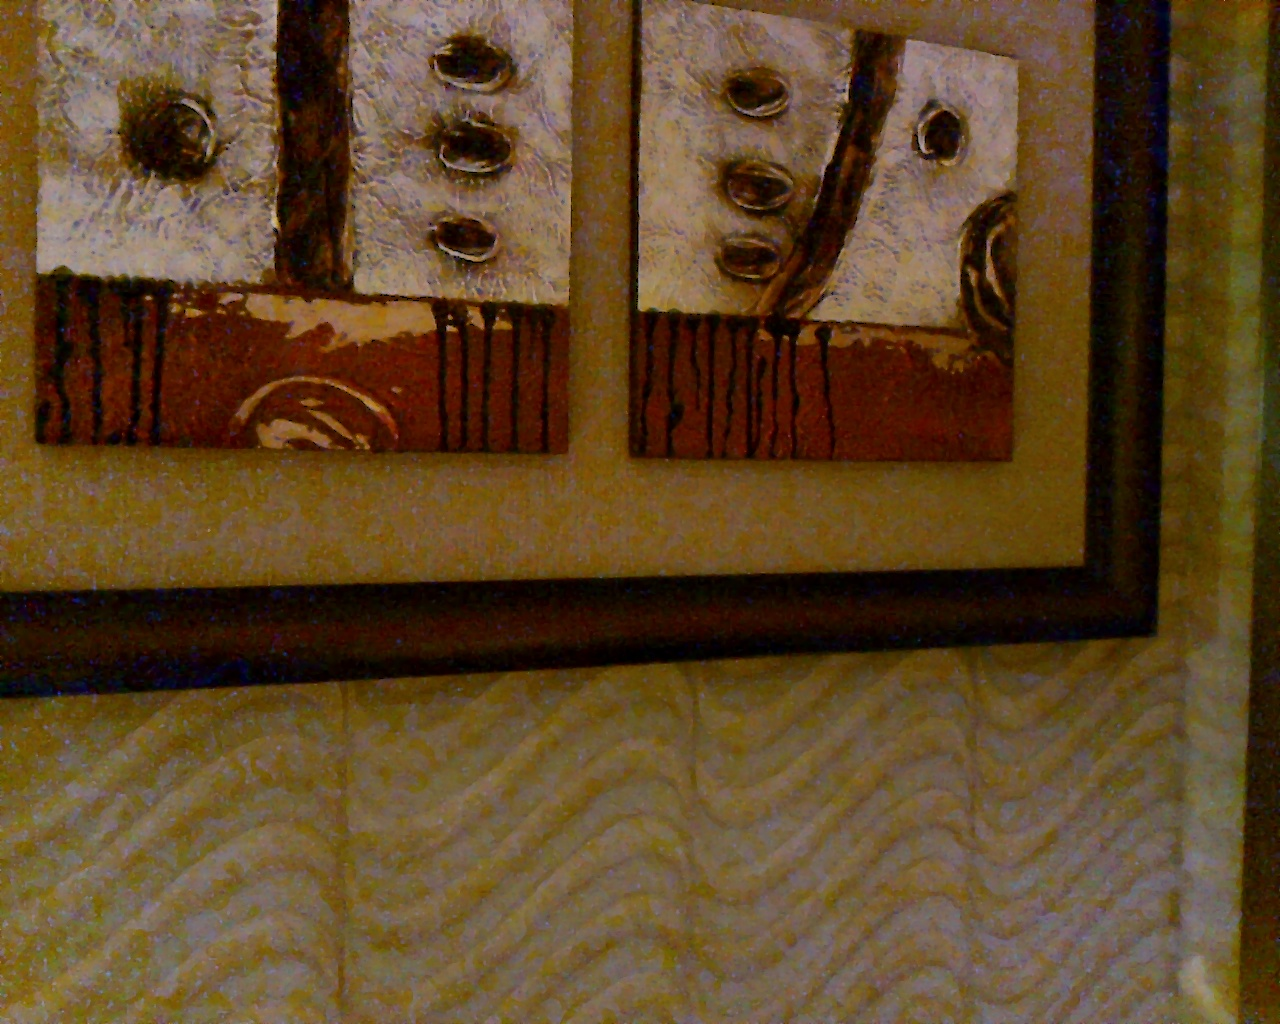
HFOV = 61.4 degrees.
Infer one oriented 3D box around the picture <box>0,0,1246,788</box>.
[{"bbox_3d":[-0.160,-0.180,0.640,1.350,0.650,0.040,1,1,-21],"label":"picture"}]
